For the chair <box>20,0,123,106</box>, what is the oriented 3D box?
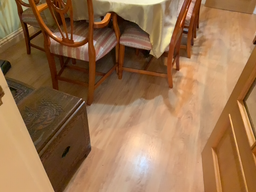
[{"bbox_3d":[-0.370,-0.480,1.670,0.520,0.940,0.510,14,44,10],"label":"chair"}]
